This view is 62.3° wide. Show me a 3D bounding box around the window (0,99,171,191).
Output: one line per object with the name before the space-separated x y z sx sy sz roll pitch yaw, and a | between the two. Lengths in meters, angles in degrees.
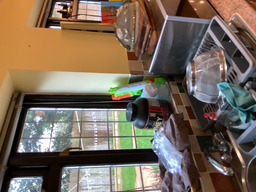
window | -0.220 0.550 1.100 0.070 0.920 1.300 104 163 -48
